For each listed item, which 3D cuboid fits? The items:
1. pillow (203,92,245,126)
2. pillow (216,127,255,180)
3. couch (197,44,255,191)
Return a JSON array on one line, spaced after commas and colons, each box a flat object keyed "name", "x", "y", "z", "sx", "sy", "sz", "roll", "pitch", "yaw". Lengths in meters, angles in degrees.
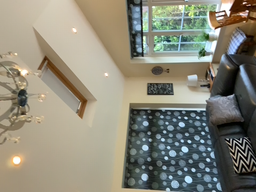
[{"name": "pillow", "x": 1.370, "y": 0.180, "z": 3.060, "sx": 0.140, "sy": 0.350, "sz": 0.420, "roll": 83, "pitch": 166, "yaw": -47}, {"name": "pillow", "x": 1.380, "y": 0.690, "z": 2.590, "sx": 0.160, "sy": 0.290, "sz": 0.560, "roll": 83, "pitch": 170, "yaw": -47}, {"name": "couch", "x": 1.530, "y": 0.680, "z": 2.580, "sx": 1.070, "sy": 0.750, "sz": 2.940, "roll": 83, "pitch": -171, "yaw": -47}]
